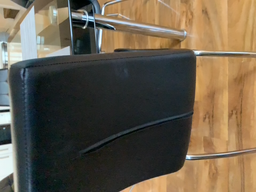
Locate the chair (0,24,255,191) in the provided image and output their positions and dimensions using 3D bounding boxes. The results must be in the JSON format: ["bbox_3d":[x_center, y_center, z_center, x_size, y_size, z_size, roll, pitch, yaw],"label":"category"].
[{"bbox_3d":[0.110,0.030,0.750,0.500,0.960,0.400,20,110,50],"label":"chair"}]
